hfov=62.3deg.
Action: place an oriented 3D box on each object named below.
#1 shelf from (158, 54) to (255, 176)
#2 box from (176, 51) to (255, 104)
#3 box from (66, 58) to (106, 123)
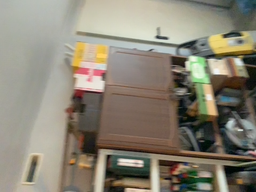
[{"bbox_3d":[0.950,0.170,1.880,0.390,1.260,0.930,102,172,-55],"label":"shelf"},{"bbox_3d":[0.780,-0.160,1.980,0.370,0.540,0.280,106,170,-61],"label":"box"},{"bbox_3d":[-0.330,-0.030,1.750,0.460,0.250,0.300,103,171,-54],"label":"box"}]
